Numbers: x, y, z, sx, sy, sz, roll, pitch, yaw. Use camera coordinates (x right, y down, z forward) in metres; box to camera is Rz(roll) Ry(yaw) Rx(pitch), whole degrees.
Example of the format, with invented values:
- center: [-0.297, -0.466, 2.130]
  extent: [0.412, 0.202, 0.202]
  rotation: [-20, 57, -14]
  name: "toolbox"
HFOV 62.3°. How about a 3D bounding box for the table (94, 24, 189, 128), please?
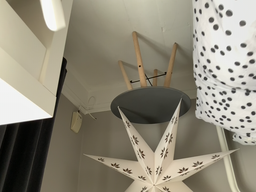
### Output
- center: [0.110, -0.090, 1.380]
  extent: [0.490, 0.410, 0.490]
  rotation: [-7, 150, 11]
  name: "table"
